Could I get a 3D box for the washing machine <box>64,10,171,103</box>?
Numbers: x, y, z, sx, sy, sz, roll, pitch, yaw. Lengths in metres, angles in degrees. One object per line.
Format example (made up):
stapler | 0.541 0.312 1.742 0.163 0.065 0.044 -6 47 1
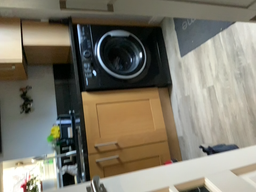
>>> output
washing machine | -0.160 -0.360 2.180 0.660 0.850 0.670 147 116 -66
